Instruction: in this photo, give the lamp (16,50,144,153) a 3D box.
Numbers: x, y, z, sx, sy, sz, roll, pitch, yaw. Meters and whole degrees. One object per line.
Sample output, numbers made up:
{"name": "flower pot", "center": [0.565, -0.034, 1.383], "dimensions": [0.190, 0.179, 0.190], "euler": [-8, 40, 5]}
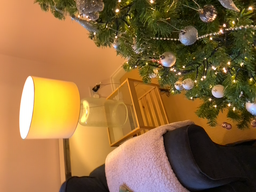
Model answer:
{"name": "lamp", "center": [-0.300, 0.070, 1.290], "dimensions": [0.370, 0.610, 0.410], "euler": [-43, 51, 40]}
